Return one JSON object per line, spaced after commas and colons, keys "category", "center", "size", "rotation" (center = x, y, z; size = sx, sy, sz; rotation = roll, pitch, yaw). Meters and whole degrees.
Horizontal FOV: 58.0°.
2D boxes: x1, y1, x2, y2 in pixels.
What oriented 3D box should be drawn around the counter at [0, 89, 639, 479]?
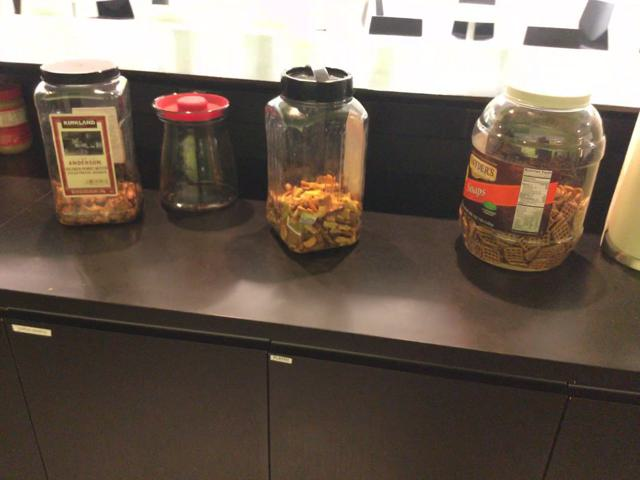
{"category": "counter", "center": [-0.500, -0.030, 1.120], "size": [5.900, 0.310, 0.670], "rotation": [8, 28, 8]}
